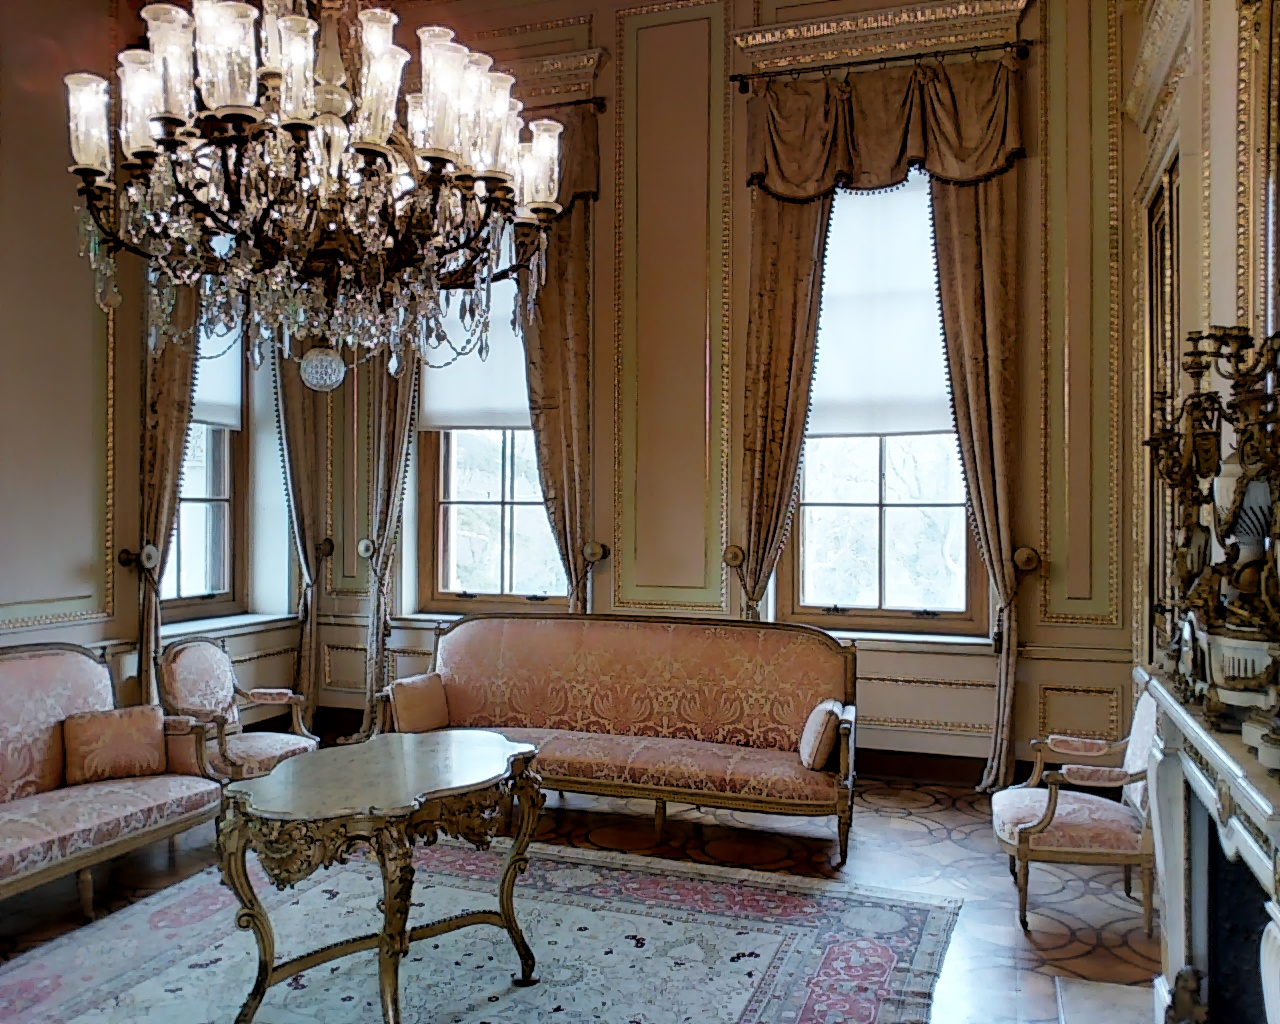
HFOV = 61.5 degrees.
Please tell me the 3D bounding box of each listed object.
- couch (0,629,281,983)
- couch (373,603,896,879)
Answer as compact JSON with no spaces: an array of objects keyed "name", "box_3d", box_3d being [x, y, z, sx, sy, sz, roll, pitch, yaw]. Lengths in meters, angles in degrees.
[{"name":"couch","box_3d":[-2.719,1.181,4.250,0.870,1.110,2.890,0,0,19]},{"name":"couch","box_3d":[-0.060,1.171,6.040,2.829,1.171,0.830,0,0,21]}]
